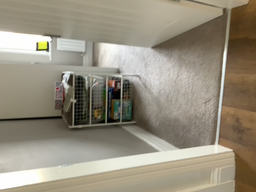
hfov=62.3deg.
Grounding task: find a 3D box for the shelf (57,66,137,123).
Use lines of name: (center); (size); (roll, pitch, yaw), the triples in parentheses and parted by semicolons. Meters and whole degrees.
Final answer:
shelf: (-0.370, -0.050, 2.320); (0.600, 0.700, 0.510); (16, 105, 63)
